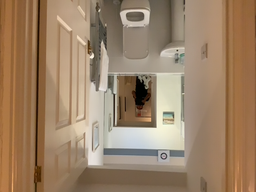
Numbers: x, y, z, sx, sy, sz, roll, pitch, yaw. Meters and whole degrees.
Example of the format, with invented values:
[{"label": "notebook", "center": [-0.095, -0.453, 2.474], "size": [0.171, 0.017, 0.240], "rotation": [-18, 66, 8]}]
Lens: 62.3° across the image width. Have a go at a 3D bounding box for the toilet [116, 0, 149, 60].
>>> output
[{"label": "toilet", "center": [0.060, -0.950, 2.750], "size": [0.370, 0.860, 0.670], "rotation": [0, 180, 1]}]
